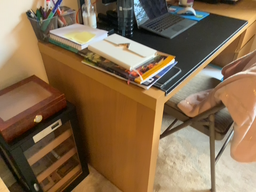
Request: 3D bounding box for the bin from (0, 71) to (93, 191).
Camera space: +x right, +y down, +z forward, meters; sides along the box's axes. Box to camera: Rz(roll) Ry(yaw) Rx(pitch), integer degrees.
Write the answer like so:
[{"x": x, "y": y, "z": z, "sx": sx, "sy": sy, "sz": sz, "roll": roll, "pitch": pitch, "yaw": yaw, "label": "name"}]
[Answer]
[{"x": -0.430, "y": 0.240, "z": 1.050, "sx": 0.300, "sy": 0.570, "sz": 0.340, "roll": 26, "pitch": 45, "yaw": 29, "label": "bin"}]
